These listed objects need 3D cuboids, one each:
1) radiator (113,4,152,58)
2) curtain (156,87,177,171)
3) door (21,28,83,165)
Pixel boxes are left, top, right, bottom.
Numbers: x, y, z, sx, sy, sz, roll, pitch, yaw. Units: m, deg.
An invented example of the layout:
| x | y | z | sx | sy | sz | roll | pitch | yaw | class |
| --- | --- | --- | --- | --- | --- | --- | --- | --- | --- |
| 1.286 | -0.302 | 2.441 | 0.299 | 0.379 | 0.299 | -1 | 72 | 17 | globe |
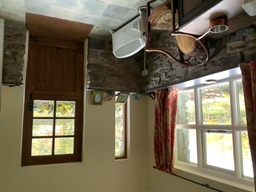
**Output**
| x | y | z | sx | sy | sz | roll | pitch | yaw | class |
| --- | --- | --- | --- | --- | --- | --- | --- | --- | --- |
| 0.040 | -0.860 | 2.930 | 0.200 | 0.470 | 0.670 | 5 | 172 | -32 | radiator |
| 0.570 | 0.480 | 3.200 | 0.140 | 1.180 | 0.320 | 3 | 172 | -24 | curtain |
| -1.180 | -0.010 | 3.400 | 0.840 | 2.080 | 0.100 | 3 | 173 | -21 | door |
